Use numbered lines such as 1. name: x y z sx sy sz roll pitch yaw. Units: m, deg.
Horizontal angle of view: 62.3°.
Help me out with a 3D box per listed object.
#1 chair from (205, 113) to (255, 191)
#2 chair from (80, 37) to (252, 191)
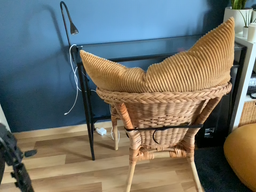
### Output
1. chair: 0.990 0.350 1.320 0.760 0.220 0.580 -6 29 -6
2. chair: 0.140 0.140 1.200 0.580 0.750 0.690 -1 29 1
